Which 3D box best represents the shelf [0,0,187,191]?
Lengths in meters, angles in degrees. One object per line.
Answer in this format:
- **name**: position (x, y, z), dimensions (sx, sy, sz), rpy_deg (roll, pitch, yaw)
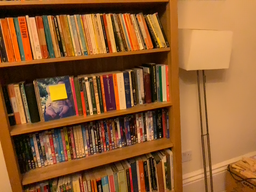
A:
- **shelf**: position (-0.200, 0.090, 1.190), dimensions (0.960, 1.990, 0.380), rpy_deg (-9, 13, -19)
